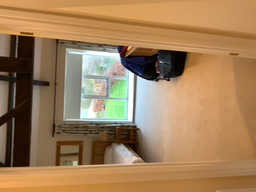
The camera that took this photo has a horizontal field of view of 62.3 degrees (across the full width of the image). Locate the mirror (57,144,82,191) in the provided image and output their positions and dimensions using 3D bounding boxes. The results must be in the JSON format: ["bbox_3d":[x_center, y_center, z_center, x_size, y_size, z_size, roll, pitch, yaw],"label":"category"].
[{"bbox_3d":[-1.400,1.720,5.090,0.090,0.550,1.110,170,101,-75],"label":"mirror"}]

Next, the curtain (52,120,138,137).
[{"bbox_3d":[-0.780,0.790,5.250,0.190,2.070,0.380,-173,85,-76],"label":"curtain"}]
